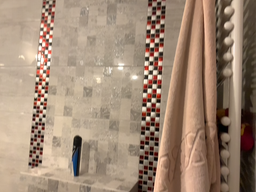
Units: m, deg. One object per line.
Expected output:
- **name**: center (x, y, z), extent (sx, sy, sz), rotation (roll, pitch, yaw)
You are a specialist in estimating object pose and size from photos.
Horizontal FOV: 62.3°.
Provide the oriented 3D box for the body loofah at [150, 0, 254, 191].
- **body loofah**: center (0.190, 0.120, 0.610), extent (0.220, 1.160, 0.210), rotation (3, -4, 11)
